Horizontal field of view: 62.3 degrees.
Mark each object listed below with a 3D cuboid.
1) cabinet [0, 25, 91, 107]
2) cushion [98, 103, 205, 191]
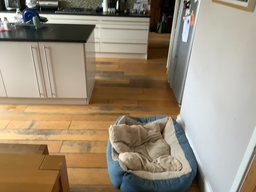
[{"bbox_3d":[-1.540,-0.400,2.720,2.040,0.900,0.460,2,29,-2],"label":"cabinet"},{"bbox_3d":[0.160,0.440,2.060,0.790,0.200,1.050,2,29,-2],"label":"cushion"}]
